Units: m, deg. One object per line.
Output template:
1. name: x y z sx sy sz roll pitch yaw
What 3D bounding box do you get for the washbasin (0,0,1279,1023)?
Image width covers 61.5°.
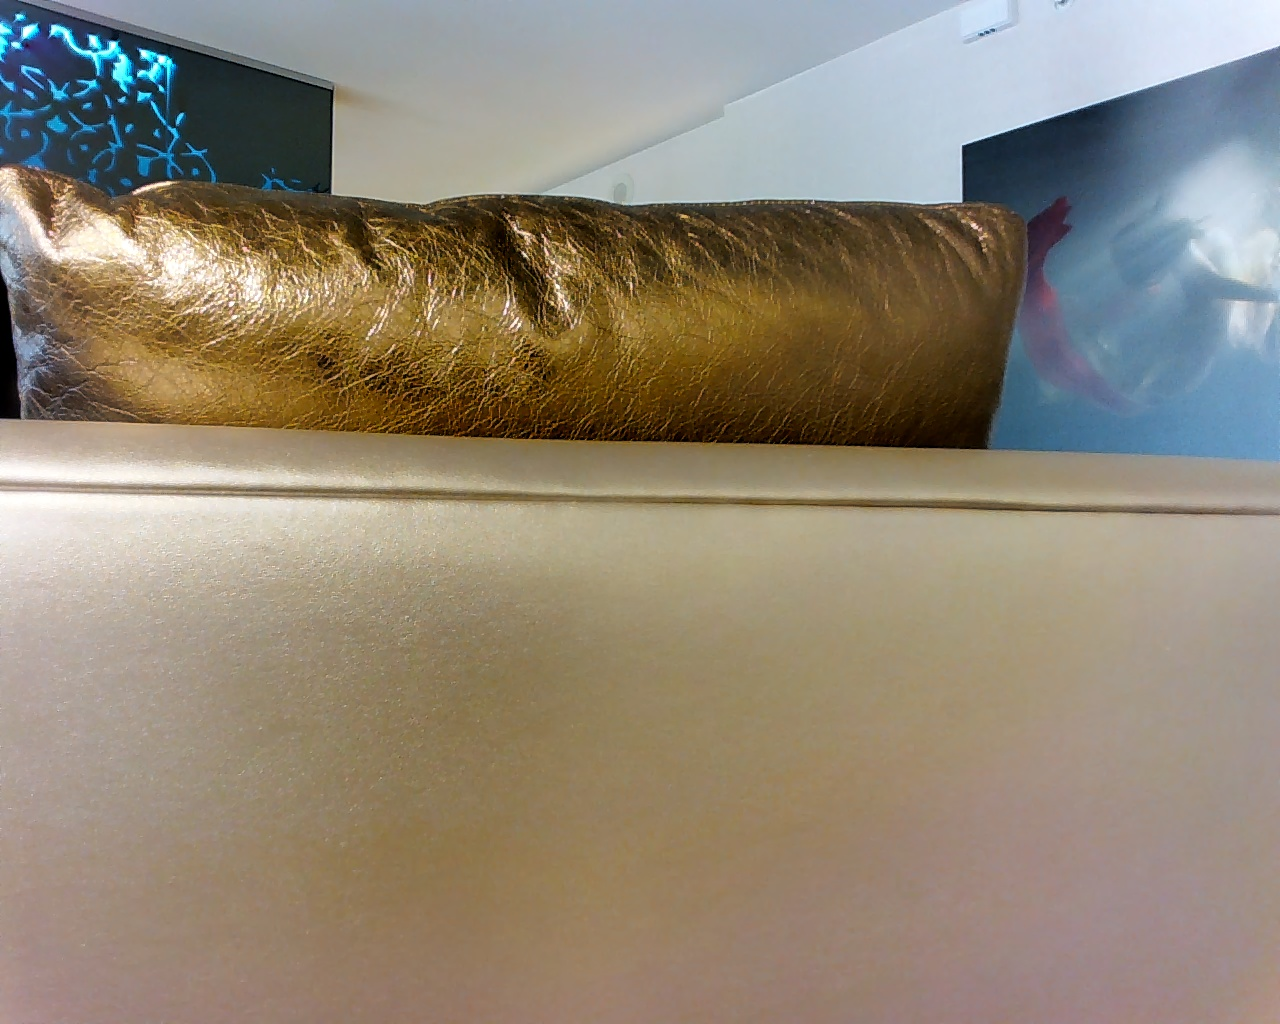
1. washbasin: -0.250 -0.690 2.250 4.040 2.670 4.650 2 -2 -41
